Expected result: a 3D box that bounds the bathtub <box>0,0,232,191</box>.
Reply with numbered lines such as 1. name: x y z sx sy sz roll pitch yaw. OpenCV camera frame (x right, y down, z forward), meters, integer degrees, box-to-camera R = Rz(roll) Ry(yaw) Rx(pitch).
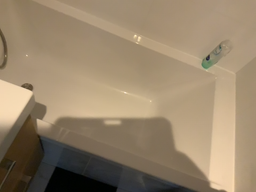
1. bathtub: -0.210 0.020 1.240 1.390 0.570 0.780 23 58 -5
